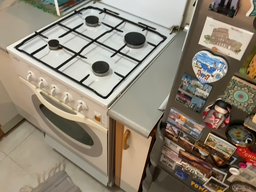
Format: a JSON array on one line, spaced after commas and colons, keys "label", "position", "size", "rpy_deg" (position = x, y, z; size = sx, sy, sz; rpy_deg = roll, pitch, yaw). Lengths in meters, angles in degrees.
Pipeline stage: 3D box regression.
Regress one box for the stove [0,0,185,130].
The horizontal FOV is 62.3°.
[{"label": "stove", "position": [-0.120, -0.230, 0.960], "size": [0.510, 0.150, 0.610], "rpy_deg": [29, 54, 19]}]
